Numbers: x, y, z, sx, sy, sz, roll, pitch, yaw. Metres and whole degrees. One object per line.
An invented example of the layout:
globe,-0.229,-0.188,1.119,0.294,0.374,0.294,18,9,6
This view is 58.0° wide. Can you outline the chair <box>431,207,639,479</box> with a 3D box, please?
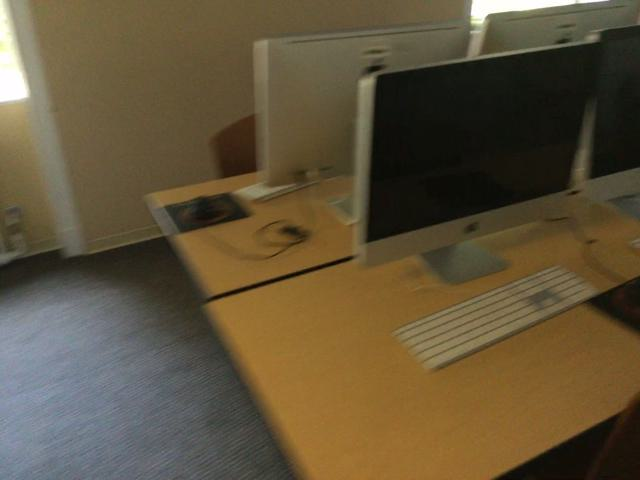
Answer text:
chair,0.540,0.420,1.140,0.460,0.790,0.410,-15,32,-21
